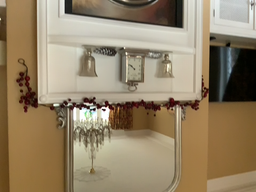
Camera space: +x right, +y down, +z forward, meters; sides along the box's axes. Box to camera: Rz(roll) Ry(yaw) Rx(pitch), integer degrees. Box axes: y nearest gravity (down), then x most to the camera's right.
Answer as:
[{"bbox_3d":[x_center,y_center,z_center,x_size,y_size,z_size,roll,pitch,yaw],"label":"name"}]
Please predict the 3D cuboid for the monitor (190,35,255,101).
[{"bbox_3d":[1.280,-0.310,2.540,1.180,0.720,0.060,0,-177,-17],"label":"monitor"}]
